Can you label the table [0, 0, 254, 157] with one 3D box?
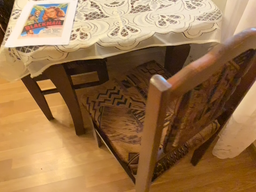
[{"bbox_3d":[-0.130,-0.500,1.400,0.870,0.740,1.430,-9,52,-6],"label":"table"}]
